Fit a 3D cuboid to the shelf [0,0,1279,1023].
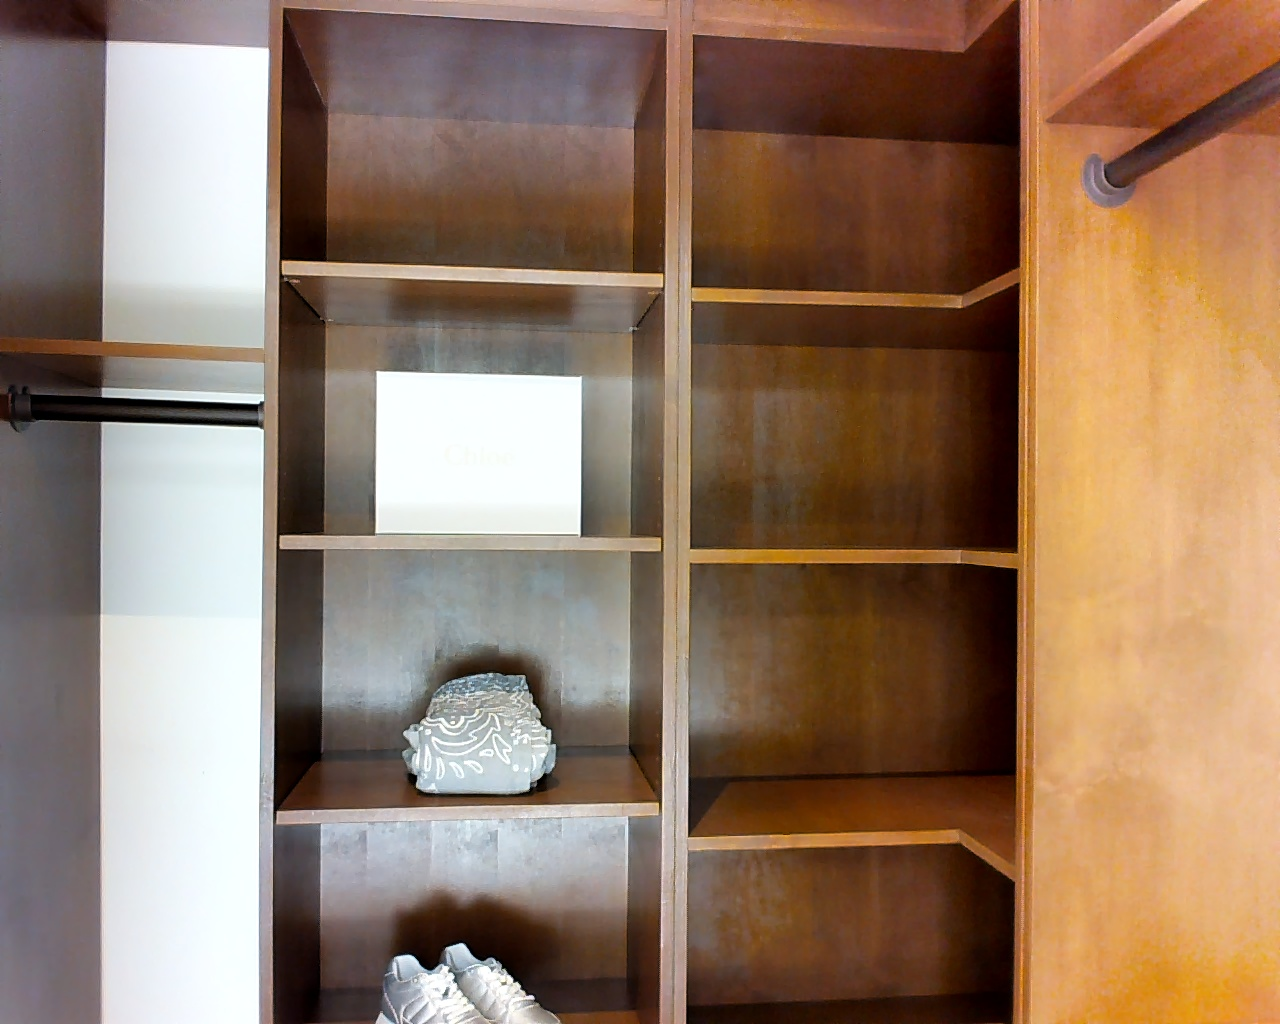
[{"bbox_3d":[0.100,0.260,0.740,1.690,2.840,2.140,0,-1,-6],"label":"shelf"}]
